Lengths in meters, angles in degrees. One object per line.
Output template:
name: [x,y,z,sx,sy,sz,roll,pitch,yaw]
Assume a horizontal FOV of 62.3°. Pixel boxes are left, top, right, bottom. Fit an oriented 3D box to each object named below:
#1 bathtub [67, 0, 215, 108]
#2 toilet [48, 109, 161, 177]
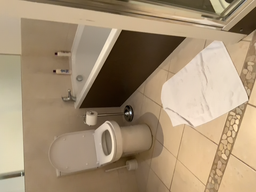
bathtub: [-0.110,-0.530,2.010,1.640,0.560,0.710,-45,53,55]
toilet: [-0.260,0.450,2.030,0.650,0.870,0.380,-46,51,54]
